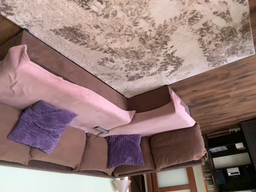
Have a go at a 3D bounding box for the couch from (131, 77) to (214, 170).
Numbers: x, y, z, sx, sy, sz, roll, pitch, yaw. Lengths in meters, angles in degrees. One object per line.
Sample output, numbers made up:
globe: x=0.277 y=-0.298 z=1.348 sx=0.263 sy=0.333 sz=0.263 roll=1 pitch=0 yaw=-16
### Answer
couch: x=0.520 y=0.380 z=2.440 sx=0.550 sy=0.750 sz=0.890 roll=-18 pitch=149 yaw=26
